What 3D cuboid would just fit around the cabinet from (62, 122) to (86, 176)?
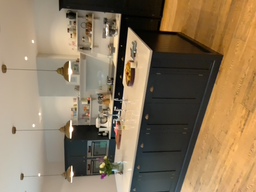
[{"bbox_3d":[-1.590,1.560,6.280,0.660,0.640,1.440,-112,26,-61],"label":"cabinet"}]
